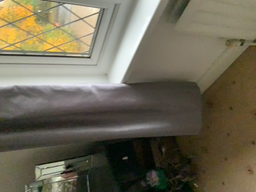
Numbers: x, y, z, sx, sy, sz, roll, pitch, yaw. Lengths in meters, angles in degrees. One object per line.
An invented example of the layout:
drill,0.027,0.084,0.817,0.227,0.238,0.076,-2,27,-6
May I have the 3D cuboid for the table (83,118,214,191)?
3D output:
table,0.210,0.910,1.630,0.590,0.740,1.280,-61,42,46
